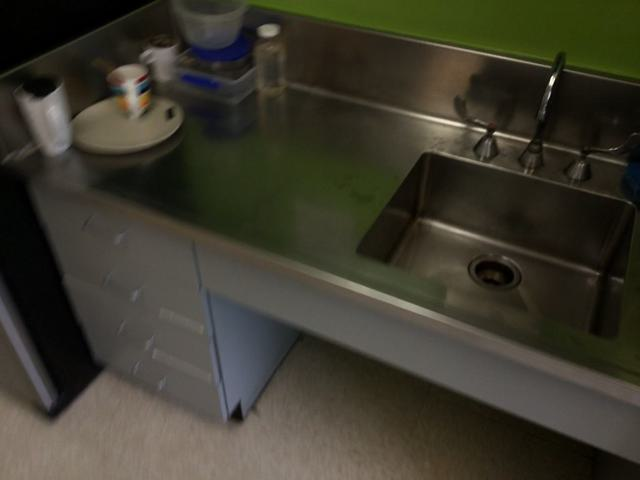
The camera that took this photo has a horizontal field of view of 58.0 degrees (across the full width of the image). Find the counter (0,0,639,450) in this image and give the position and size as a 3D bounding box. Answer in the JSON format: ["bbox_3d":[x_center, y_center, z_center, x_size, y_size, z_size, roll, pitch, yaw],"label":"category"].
[{"bbox_3d":[0.050,-0.190,1.190,1.470,0.280,0.670,19,42,21],"label":"counter"}]

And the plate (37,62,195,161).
[{"bbox_3d":[-0.470,-0.310,1.360,0.240,0.090,0.240,19,42,21],"label":"plate"}]
